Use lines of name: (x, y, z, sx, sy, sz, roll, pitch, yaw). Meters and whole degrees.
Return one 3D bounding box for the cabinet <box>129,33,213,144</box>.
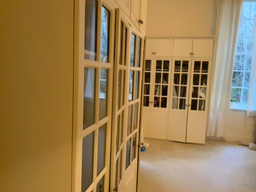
cabinet: (0.880, -0.190, 4.610, 1.540, 2.190, 0.570, 4, 7, 11)
